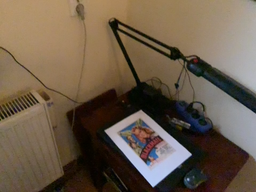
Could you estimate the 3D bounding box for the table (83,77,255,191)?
[{"bbox_3d":[0.150,0.410,1.140,0.450,0.690,0.640,-28,51,-32],"label":"table"}]
